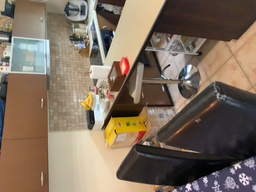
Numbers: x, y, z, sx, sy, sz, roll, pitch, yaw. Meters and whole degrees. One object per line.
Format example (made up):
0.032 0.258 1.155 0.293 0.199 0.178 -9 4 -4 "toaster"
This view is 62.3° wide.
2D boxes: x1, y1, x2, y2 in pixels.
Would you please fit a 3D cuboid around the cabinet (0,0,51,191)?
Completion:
-1.180 -0.160 2.510 0.330 0.420 3.290 123 141 -51 "cabinet"
